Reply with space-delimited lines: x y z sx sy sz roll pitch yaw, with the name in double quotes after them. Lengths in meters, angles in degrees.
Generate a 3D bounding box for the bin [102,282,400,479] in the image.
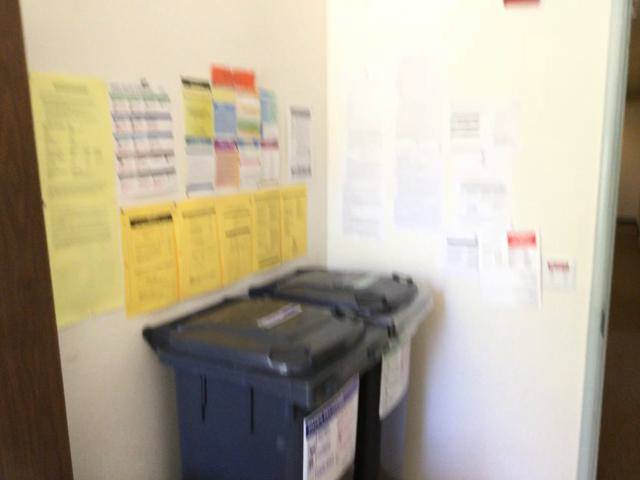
-0.130 0.720 1.600 0.540 1.080 0.560 1 10 27 "bin"
